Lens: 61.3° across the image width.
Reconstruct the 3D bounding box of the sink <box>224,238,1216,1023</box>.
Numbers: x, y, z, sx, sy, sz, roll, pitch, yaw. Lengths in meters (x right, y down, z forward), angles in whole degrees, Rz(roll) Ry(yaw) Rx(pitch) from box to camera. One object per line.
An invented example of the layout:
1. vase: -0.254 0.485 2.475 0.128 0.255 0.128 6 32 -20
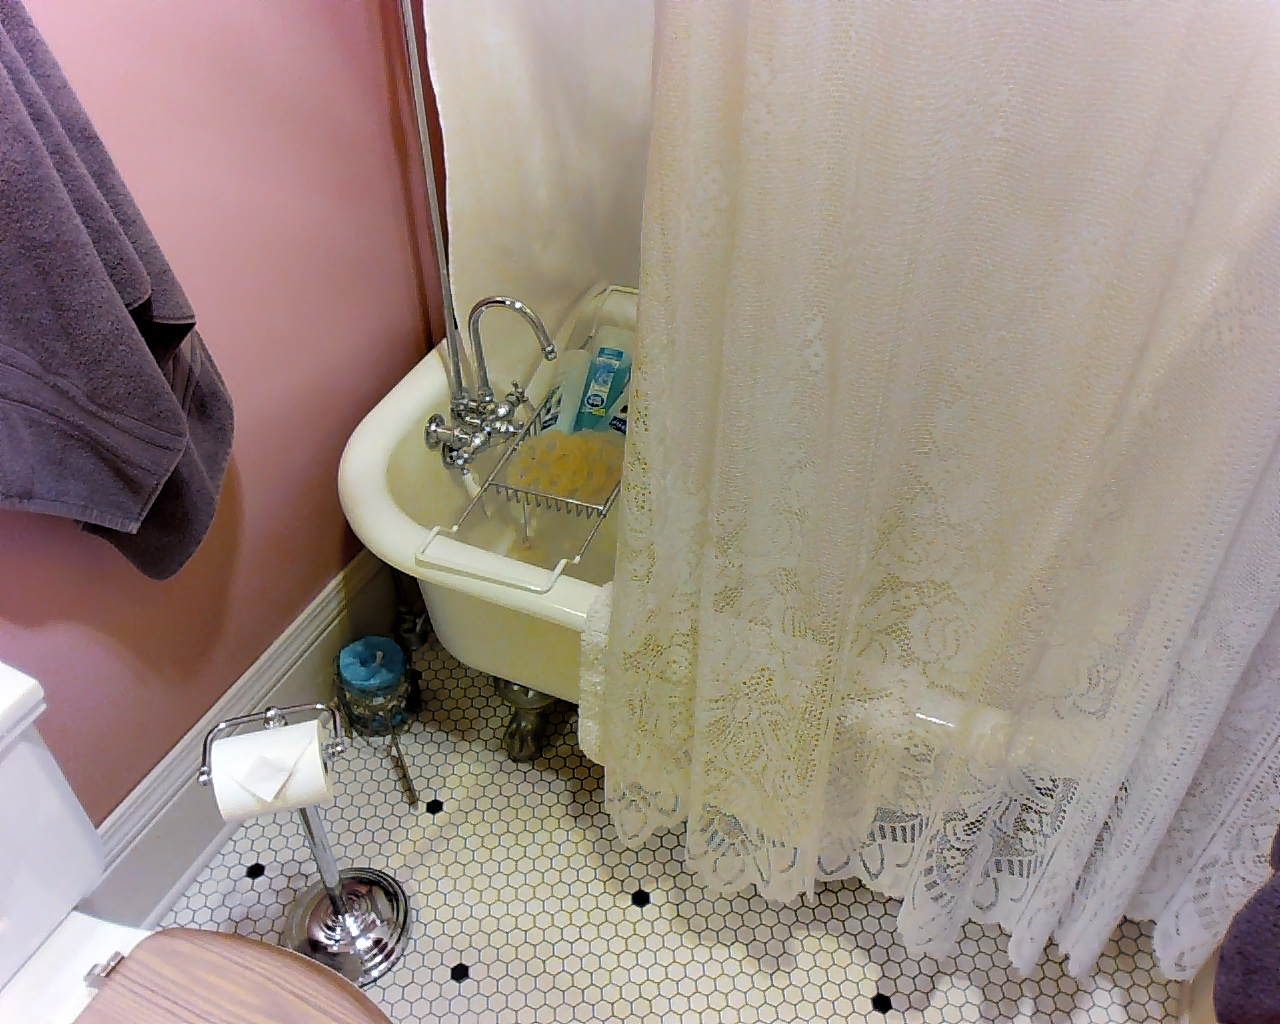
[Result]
1. sink: 0.130 0.110 1.760 1.260 0.580 0.710 18 45 19
